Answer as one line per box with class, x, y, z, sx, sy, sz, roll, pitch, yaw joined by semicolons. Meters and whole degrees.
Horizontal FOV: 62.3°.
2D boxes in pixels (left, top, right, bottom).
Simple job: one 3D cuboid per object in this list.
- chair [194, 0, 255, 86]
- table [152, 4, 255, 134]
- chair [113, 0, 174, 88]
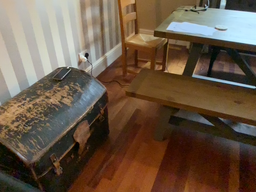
chair;1.660;-0.660;2.440;1.490;0.920;0.650;16;38;20
table;1.530;-0.200;1.930;2.340;0.760;1.040;15;38;19
chair;0.180;-0.680;2.390;0.530;0.980;0.540;10;37;12
